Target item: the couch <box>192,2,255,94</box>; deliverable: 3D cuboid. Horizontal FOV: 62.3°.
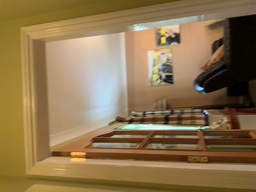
[{"bbox_3d":[1.530,-0.610,3.280,1.500,0.970,1.050,-10,-82,-74],"label":"couch"}]
